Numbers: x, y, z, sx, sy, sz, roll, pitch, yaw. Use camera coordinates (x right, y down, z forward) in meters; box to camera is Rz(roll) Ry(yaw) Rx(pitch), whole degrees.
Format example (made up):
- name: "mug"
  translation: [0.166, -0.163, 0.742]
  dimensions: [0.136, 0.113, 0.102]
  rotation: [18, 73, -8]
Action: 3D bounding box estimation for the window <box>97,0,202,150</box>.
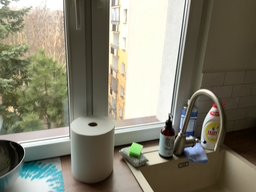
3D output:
- name: "window"
  translation: [0.110, -0.420, 0.950]
  dimensions: [0.470, 1.360, 0.110]
  rotation: [-6, 22, -26]
